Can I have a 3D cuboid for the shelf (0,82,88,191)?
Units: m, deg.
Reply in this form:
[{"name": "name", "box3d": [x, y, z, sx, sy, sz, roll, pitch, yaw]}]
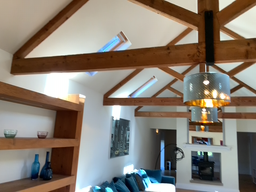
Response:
[{"name": "shelf", "box3d": [-1.270, 1.080, 2.260, 0.520, 2.250, 2.090, -1, -11, 19]}]
